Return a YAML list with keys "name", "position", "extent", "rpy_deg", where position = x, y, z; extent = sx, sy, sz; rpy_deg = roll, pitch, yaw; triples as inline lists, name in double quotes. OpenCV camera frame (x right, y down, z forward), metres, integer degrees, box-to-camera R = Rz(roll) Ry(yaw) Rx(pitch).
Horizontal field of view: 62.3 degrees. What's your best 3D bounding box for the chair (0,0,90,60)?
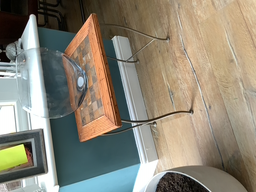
- name: "chair"
  position: [-0.850, -0.690, 1.670]
  extent: [0.450, 0.880, 0.600]
  rpy_deg: [-27, 72, 47]
